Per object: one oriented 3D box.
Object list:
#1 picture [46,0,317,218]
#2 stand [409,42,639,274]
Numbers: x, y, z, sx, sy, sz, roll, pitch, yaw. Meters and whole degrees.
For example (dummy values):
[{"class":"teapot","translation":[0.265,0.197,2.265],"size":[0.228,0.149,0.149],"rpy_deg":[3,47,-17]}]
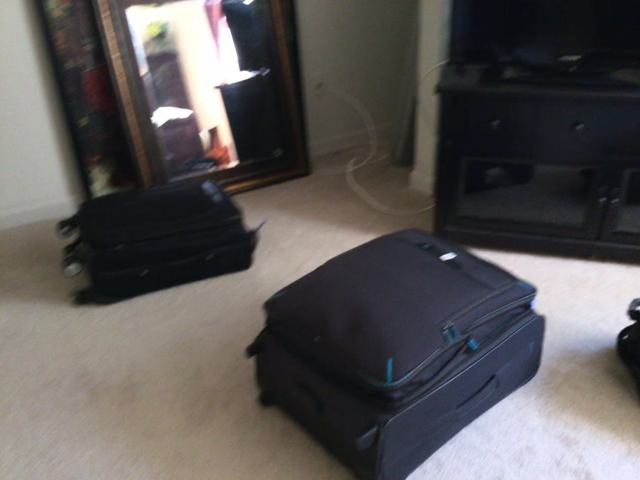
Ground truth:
[{"class":"picture","translation":[-0.540,-0.800,2.400],"size":[1.000,1.210,0.260],"rpy_deg":[-15,24,-27]},{"class":"stand","translation":[0.930,-0.290,2.010],"size":[1.090,0.640,0.480],"rpy_deg":[10,17,14]}]
